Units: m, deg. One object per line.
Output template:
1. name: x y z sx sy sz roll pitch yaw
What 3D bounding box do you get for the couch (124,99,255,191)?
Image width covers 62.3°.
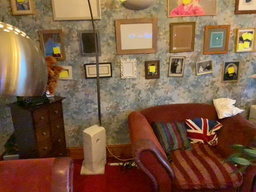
1. couch: 0.710 0.600 2.520 1.400 0.770 1.070 -3 17 -5

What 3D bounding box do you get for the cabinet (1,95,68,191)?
1. cabinet: -1.040 0.540 2.450 0.410 0.990 0.410 7 19 25

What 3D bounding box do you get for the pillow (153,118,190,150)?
1. pillow: 0.510 0.450 2.530 0.360 0.070 0.370 -2 52 -2
